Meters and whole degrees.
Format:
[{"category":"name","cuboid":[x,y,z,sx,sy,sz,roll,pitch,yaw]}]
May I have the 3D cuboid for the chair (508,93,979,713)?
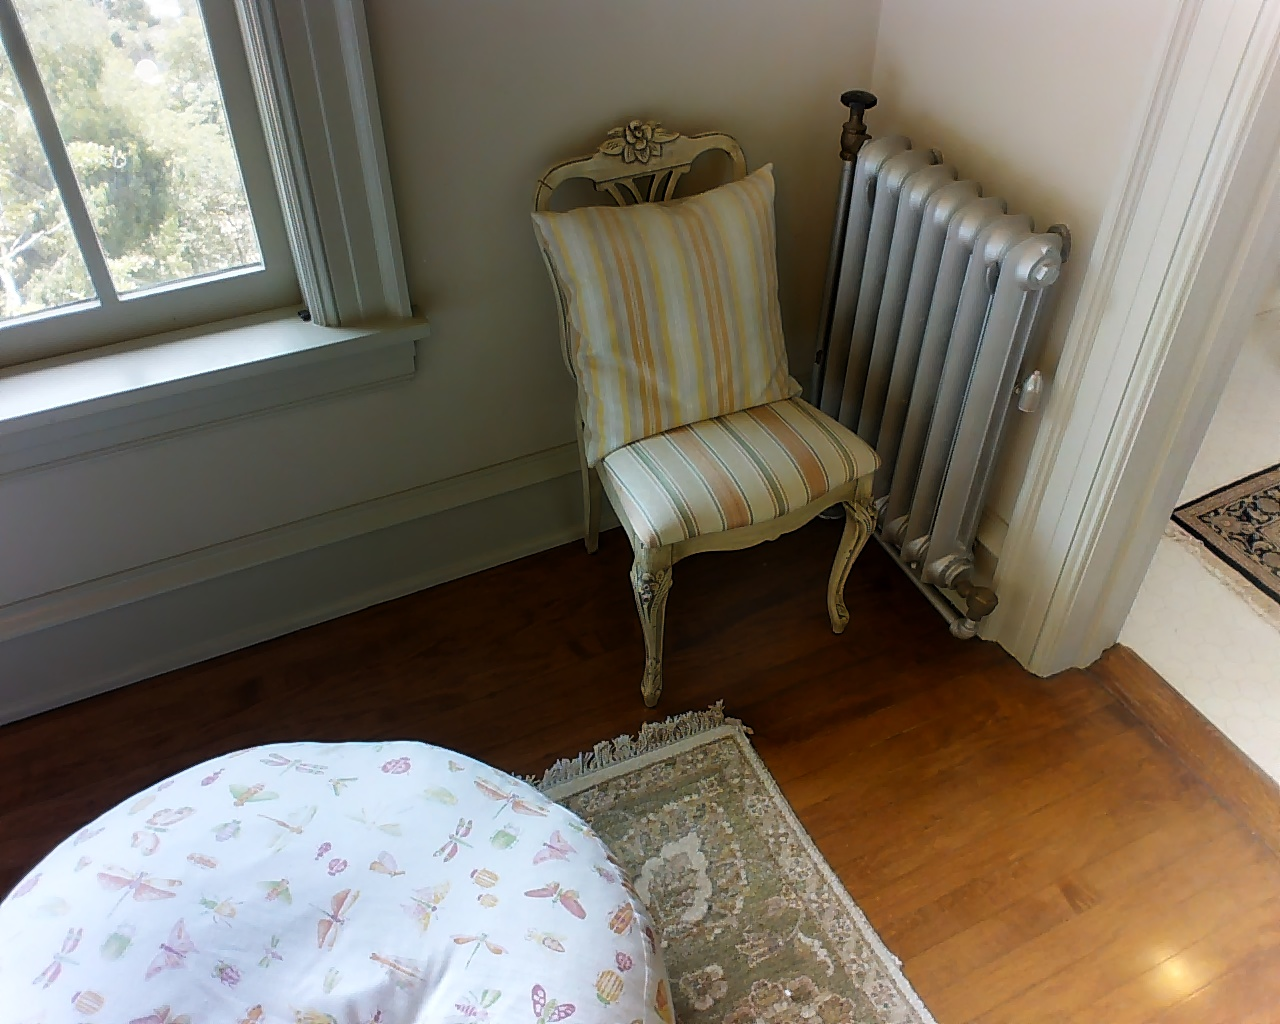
[{"category":"chair","cuboid":[0.140,-0.190,1.930,0.530,0.860,0.520,-18,44,-19]}]
